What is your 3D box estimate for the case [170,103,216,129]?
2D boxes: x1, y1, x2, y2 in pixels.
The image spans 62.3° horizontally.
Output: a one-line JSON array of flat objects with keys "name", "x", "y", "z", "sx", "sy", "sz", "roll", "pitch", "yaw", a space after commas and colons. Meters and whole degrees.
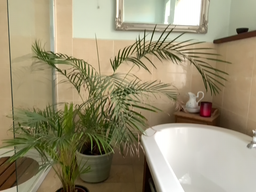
[{"name": "case", "x": 0.610, "y": 0.180, "z": 2.040, "sx": 0.350, "sy": 0.170, "sz": 0.290, "roll": 2, "pitch": 9, "yaw": 2}]

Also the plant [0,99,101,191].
[{"name": "plant", "x": -0.450, "y": 0.480, "z": 1.340, "sx": 0.480, "sy": 0.810, "sz": 0.690, "roll": 1, "pitch": 8, "yaw": -1}]

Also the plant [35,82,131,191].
[{"name": "plant", "x": -0.350, "y": 0.330, "z": 1.930, "sx": 0.720, "sy": 0.850, "sz": 0.560, "roll": 2, "pitch": 9, "yaw": -1}]
